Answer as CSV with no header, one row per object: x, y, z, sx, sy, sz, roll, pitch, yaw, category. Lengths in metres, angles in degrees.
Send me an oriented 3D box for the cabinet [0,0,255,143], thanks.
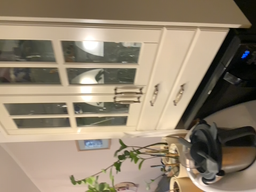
-0.130,-0.150,0.910,0.650,0.900,0.400,100,167,-50,cabinet
